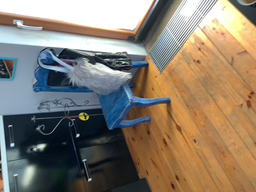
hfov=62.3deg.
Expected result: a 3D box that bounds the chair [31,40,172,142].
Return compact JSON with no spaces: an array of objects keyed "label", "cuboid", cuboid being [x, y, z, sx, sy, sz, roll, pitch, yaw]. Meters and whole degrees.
[{"label":"chair","cuboid":[-0.230,-0.050,1.790,0.470,0.960,0.550,-55,50,41]}]
